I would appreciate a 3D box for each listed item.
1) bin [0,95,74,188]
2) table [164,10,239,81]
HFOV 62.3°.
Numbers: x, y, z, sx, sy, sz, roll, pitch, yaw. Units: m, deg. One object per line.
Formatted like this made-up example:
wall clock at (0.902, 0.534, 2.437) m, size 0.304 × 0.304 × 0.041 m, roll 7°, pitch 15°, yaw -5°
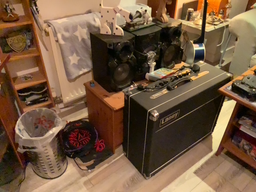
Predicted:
bin at (-0.570, 0.270, 1.330) m, size 0.300 × 0.370 × 0.320 m, roll -22°, pitch 42°, yaw -29°
table at (0.800, -0.590, 2.380) m, size 0.590 × 0.550 × 0.440 m, roll -25°, pitch 44°, yaw -32°
